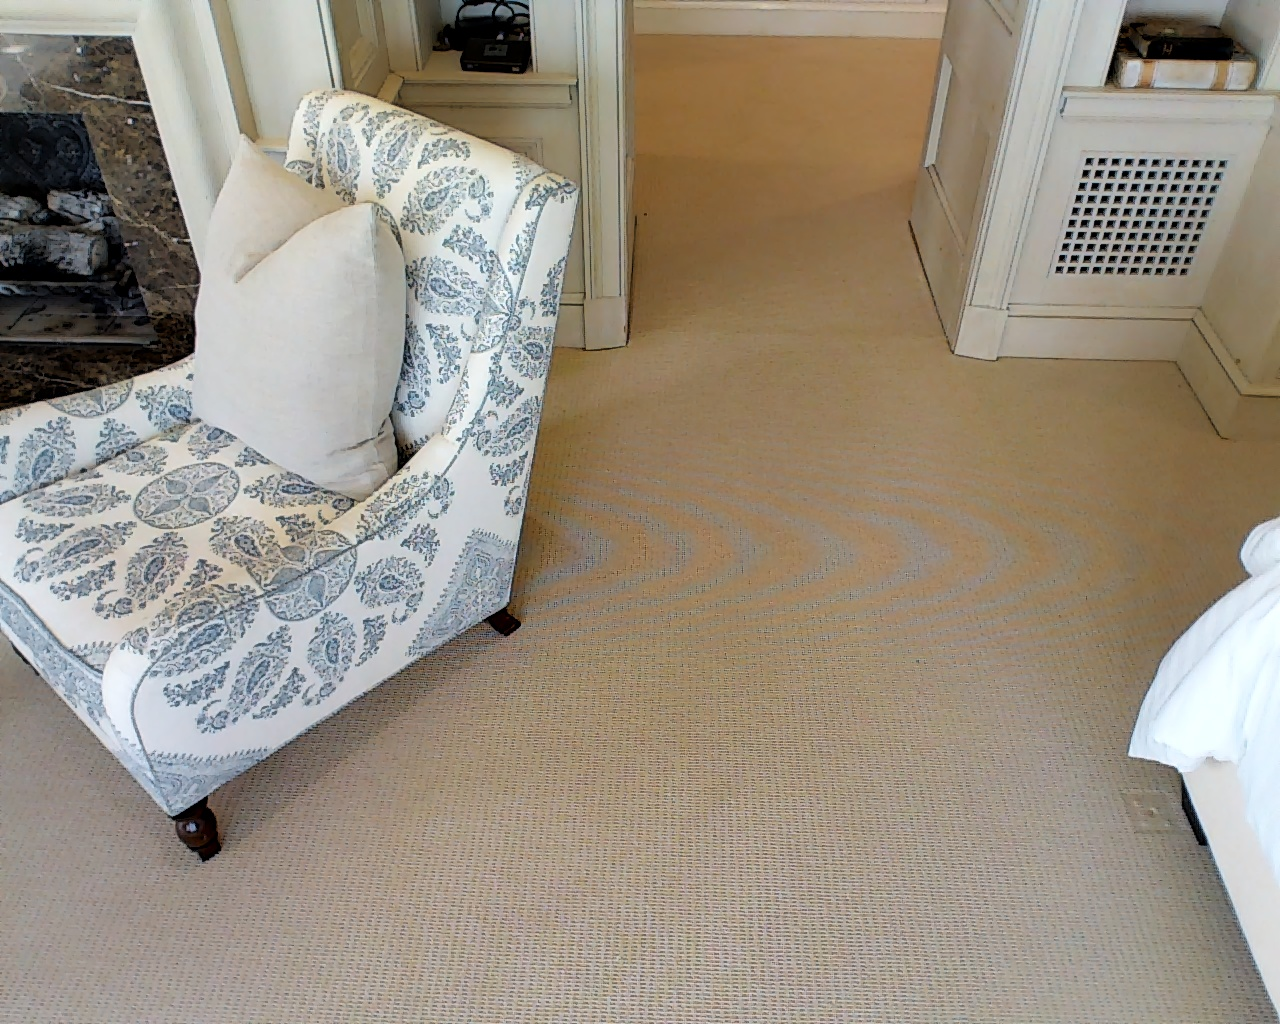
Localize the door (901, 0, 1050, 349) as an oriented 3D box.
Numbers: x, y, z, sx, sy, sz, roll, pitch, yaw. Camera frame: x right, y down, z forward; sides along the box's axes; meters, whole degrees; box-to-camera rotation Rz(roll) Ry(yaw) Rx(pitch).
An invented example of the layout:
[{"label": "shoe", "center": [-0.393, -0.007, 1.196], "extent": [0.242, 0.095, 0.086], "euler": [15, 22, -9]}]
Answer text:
[{"label": "door", "center": [0.860, -1.470, 2.490], "extent": [0.060, 2.060, 0.800], "euler": [2, 42, 2]}]
